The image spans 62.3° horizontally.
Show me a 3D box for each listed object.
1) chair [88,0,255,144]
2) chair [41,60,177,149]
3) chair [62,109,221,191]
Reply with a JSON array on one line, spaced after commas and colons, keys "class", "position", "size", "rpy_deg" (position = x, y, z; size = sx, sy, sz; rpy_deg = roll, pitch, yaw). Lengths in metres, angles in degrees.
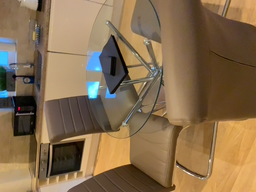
[{"class": "chair", "position": [0.390, -0.090, 1.010], "size": [0.570, 0.980, 0.440], "rpy_deg": [-8, 83, 57]}, {"class": "chair", "position": [-0.180, 0.080, 1.890], "size": [0.570, 0.990, 0.430], "rpy_deg": [-56, 46, 42]}, {"class": "chair", "position": [0.110, 0.430, 1.460], "size": [0.460, 0.980, 0.570], "rpy_deg": [13, 101, 57]}]
